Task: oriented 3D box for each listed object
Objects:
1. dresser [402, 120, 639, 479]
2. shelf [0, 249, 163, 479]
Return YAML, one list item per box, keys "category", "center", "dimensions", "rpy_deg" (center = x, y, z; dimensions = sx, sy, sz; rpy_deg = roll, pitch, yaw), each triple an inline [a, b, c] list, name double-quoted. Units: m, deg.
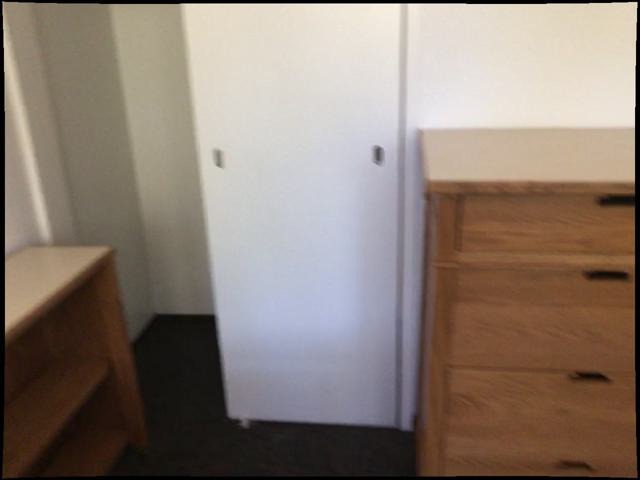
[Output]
- category: "dresser"
  center: [0.648, 0.281, 1.570]
  dimensions: [0.818, 1.082, 0.590]
  rpy_deg: [-1, 22, 7]
- category: "shelf"
  center: [-0.828, 0.531, 1.590]
  dimensions: [0.379, 0.762, 0.790]
  rpy_deg: [0, 22, 9]
